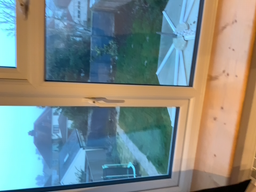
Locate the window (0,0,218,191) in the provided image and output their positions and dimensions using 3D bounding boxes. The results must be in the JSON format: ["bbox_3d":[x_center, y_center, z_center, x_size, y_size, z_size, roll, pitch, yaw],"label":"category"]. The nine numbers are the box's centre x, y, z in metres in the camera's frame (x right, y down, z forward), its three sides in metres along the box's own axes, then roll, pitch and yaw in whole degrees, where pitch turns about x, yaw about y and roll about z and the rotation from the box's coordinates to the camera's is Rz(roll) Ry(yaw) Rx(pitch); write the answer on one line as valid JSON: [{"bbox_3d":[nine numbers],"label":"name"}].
[{"bbox_3d":[-0.150,-0.300,0.910,0.060,1.200,1.700,-149,62,-69],"label":"window"}]
